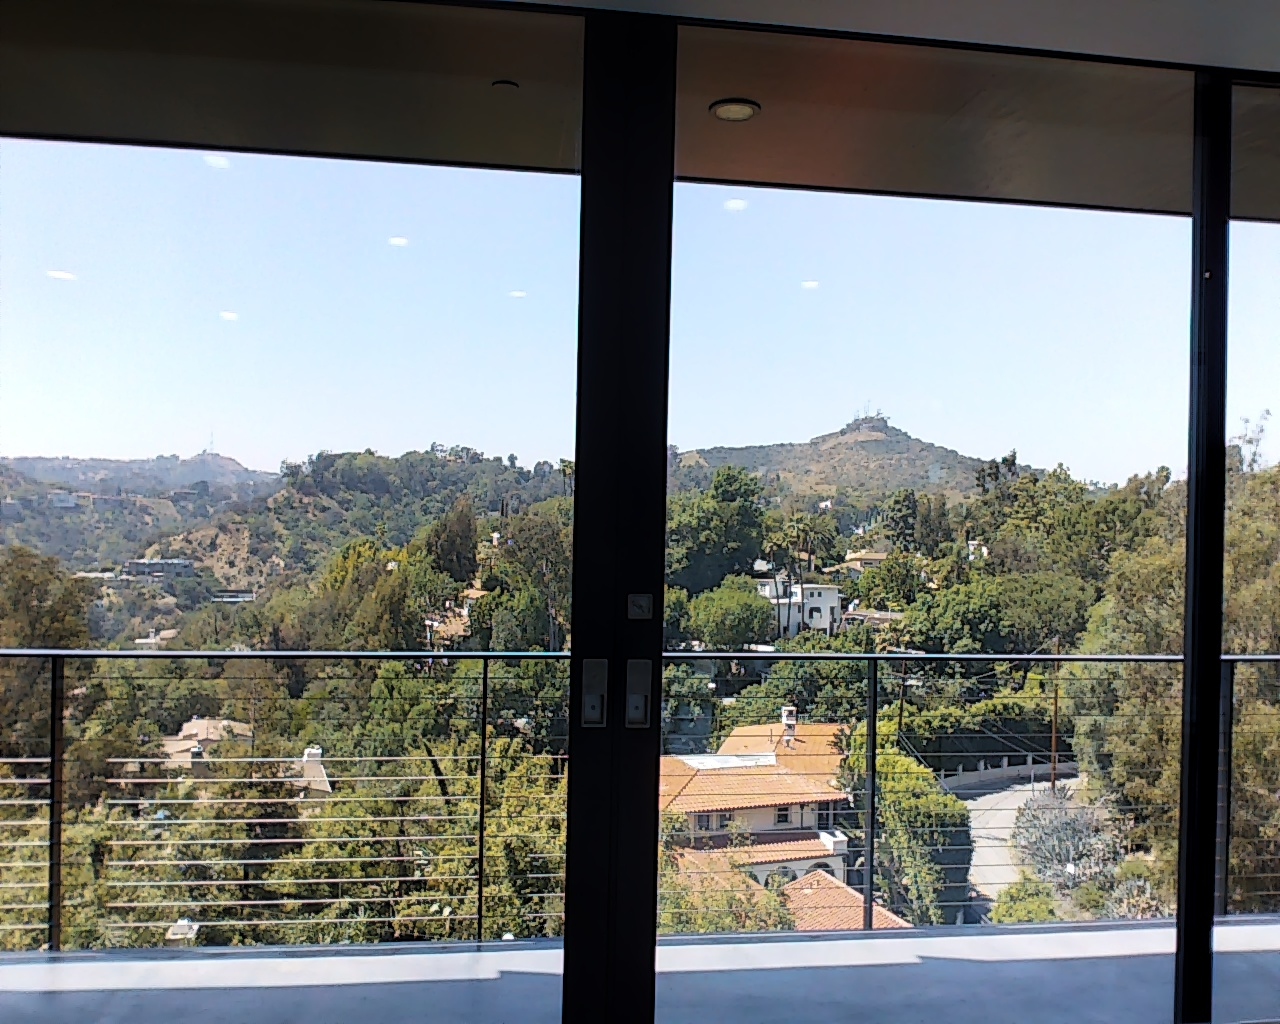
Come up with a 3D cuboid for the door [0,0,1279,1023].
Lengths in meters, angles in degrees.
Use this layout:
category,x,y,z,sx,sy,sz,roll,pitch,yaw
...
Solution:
category,x,y,z,sx,sy,sz,roll,pitch,yaw
door,0.240,0.190,2.530,5.560,2.800,0.370,1,0,-7
